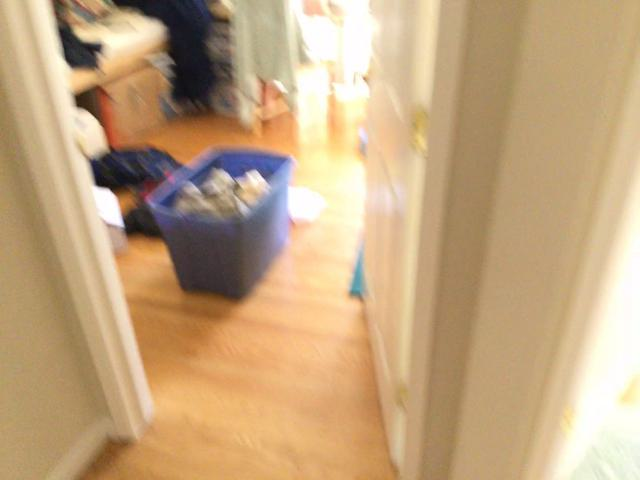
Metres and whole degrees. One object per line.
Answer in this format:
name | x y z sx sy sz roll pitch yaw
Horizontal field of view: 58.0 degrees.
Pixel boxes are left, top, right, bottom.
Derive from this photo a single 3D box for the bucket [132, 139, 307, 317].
bucket | -0.370 -0.080 2.410 0.490 0.480 0.590 6 29 12
